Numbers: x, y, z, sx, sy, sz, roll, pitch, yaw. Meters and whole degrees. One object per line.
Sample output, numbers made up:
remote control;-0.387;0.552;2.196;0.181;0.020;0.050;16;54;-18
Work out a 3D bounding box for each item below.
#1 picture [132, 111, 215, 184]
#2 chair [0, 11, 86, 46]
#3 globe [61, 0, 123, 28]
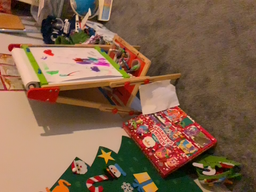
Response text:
picture;0.280;0.300;1.340;0.300;0.400;0.140;47;144;39
chair;-0.960;-0.720;2.260;0.360;0.970;0.090;47;124;38
globe;-0.360;-0.920;2.130;0.250;0.500;0.290;48;124;38
